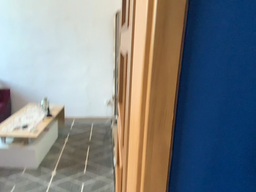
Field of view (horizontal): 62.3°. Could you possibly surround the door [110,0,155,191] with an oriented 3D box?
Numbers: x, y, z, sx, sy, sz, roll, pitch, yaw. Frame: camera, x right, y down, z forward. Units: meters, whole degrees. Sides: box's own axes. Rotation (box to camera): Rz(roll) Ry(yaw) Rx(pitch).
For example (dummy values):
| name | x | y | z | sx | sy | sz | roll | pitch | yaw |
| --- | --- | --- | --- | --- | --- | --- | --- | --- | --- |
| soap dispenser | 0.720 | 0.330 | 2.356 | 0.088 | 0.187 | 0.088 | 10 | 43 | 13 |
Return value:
| name | x | y | z | sx | sy | sz | roll | pitch | yaw |
| --- | --- | --- | --- | --- | --- | --- | --- | --- | --- |
| door | -0.040 | 0.090 | 1.130 | 0.080 | 1.980 | 1.160 | 1 | 15 | -4 |
